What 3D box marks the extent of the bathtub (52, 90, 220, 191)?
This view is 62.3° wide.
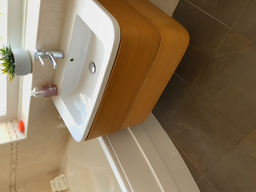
[{"bbox_3d":[0.050,0.850,1.680,1.510,0.610,0.980,50,132,31],"label":"bathtub"}]

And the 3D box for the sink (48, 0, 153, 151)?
[{"bbox_3d":[-0.220,-0.130,1.150,0.450,0.170,0.760,51,132,31],"label":"sink"}]
